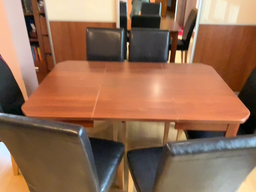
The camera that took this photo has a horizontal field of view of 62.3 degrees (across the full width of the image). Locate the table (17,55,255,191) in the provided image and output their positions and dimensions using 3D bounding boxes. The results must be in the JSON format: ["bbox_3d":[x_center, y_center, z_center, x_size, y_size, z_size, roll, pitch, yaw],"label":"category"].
[{"bbox_3d":[0.060,0.190,1.860,1.410,0.750,1.030,1,30,0],"label":"table"}]

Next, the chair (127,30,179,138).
[{"bbox_3d":[0.210,-0.120,2.190,0.400,0.980,0.500,2,30,1],"label":"chair"}]

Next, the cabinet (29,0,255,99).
[{"bbox_3d":[0.300,-1.240,2.620,2.800,2.480,0.650,2,30,1],"label":"cabinet"}]

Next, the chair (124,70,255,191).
[{"bbox_3d":[0.270,0.440,1.200,0.490,1.000,0.590,-3,30,-8],"label":"chair"}]

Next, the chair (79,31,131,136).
[{"bbox_3d":[-0.200,-0.130,2.220,0.420,0.960,0.500,2,30,1],"label":"chair"}]

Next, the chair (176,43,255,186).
[{"bbox_3d":[0.780,0.160,1.680,0.590,1.020,0.480,2,30,1],"label":"chair"}]
